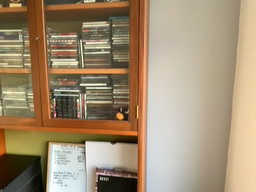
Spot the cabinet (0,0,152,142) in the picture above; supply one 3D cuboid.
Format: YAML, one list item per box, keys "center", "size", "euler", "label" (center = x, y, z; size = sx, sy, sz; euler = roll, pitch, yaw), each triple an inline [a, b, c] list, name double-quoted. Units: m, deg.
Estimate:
- center: [-0.340, -0.230, 0.940]
  size: [0.860, 0.730, 0.310]
  euler: [2, 10, 8]
  label: "cabinet"
